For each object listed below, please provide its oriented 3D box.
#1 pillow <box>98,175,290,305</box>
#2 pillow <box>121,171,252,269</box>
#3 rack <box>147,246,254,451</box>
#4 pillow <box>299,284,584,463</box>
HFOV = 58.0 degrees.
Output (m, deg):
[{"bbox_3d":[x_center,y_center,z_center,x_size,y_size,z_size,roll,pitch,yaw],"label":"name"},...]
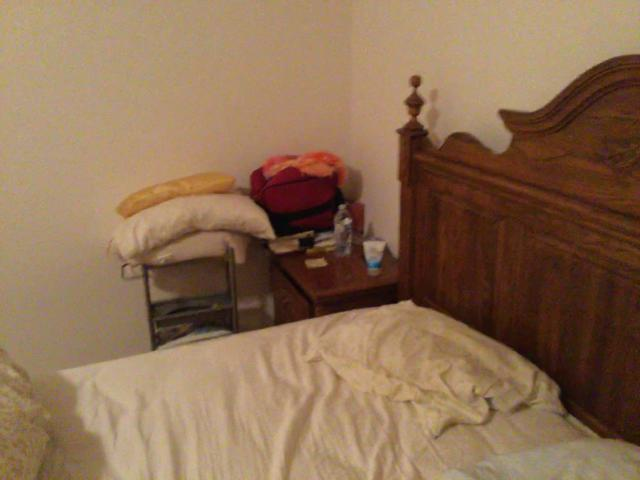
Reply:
[{"bbox_3d":[-0.470,-0.030,2.150,0.620,0.360,0.440,-4,14,-17],"label":"pillow"},{"bbox_3d":[-0.510,-0.090,2.210,0.450,0.310,0.260,-4,14,-17],"label":"pillow"},{"bbox_3d":[-0.490,0.420,2.330,0.380,0.750,0.250,-1,13,-18],"label":"rack"},{"bbox_3d":[0.260,0.290,1.460,0.500,0.170,0.530,-4,14,-17],"label":"pillow"}]
